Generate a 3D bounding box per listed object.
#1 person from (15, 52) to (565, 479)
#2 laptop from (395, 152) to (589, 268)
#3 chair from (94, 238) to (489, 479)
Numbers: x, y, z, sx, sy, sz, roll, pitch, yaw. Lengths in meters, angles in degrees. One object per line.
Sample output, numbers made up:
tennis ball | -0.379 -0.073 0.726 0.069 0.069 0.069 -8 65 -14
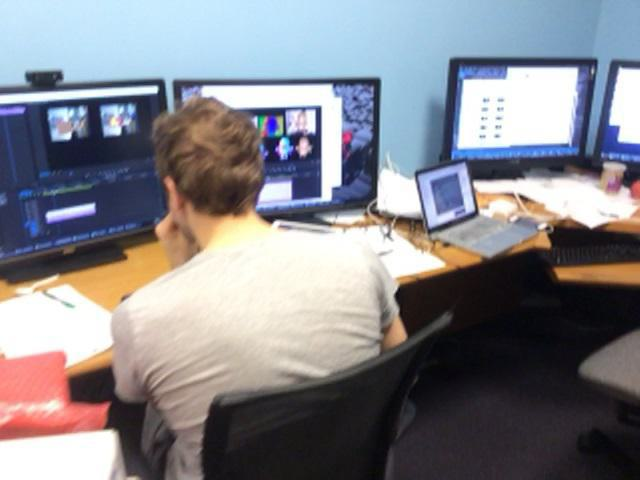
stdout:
person | -0.140 0.240 1.270 0.660 1.170 0.830 -13 27 -32
laptop | 0.550 -0.120 1.880 0.460 0.210 0.370 -13 27 -32
chair | -0.060 0.440 1.120 0.550 0.710 0.390 -13 27 -32
